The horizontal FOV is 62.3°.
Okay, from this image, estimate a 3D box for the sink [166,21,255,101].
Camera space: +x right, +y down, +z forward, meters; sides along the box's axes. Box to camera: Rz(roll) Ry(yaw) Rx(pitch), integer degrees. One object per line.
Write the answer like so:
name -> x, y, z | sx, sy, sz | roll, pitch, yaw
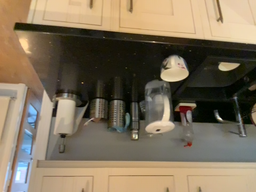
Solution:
sink -> 0.490, -0.160, 1.220 | 0.380, 0.190, 0.510 | 3, 157, -9
